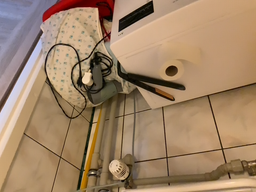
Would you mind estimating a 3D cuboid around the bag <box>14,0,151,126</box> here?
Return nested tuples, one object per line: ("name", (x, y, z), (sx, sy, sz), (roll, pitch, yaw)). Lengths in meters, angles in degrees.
("bag", (-0.150, -0.120, 0.950), (0.360, 0.240, 0.470), (-15, 136, 20))
